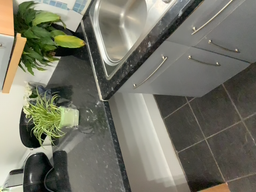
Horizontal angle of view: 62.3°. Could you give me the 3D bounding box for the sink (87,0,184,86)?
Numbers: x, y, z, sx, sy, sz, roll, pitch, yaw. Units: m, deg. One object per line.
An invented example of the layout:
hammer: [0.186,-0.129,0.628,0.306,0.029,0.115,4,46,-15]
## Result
sink: [0.000,-0.370,1.110,0.380,0.200,0.500,-43,55,43]

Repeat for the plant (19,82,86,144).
plant: [-0.490,0.120,1.330,0.360,0.290,0.270,-30,64,48]
